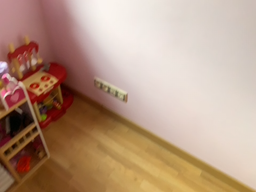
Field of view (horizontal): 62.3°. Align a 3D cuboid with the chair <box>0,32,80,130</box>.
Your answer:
[{"bbox_3d":[-0.640,-0.110,1.620,0.290,0.560,0.410,27,48,20],"label":"chair"}]

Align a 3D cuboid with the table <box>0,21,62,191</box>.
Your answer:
[{"bbox_3d":[-0.810,0.160,1.090,0.400,0.870,0.710,27,48,20],"label":"table"}]
